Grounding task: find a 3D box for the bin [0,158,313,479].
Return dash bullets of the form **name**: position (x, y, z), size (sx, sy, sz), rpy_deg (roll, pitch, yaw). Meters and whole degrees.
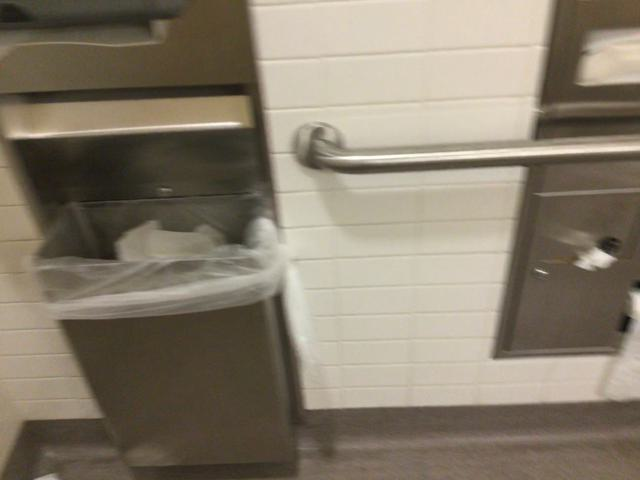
- **bin**: position (-0.260, 0.220, 1.220), size (0.420, 0.670, 0.350), rpy_deg (-3, 36, 4)
